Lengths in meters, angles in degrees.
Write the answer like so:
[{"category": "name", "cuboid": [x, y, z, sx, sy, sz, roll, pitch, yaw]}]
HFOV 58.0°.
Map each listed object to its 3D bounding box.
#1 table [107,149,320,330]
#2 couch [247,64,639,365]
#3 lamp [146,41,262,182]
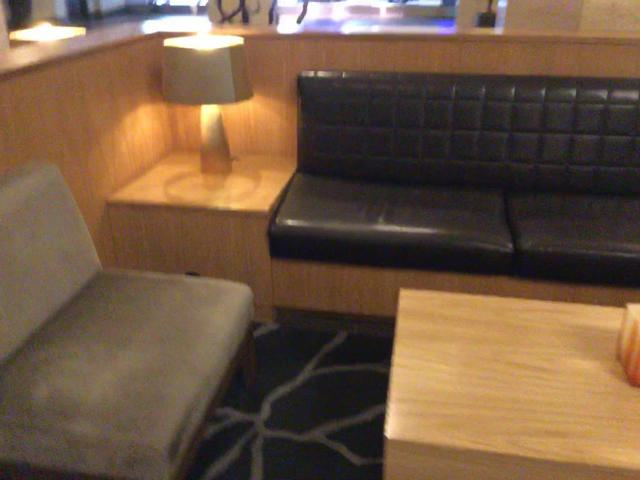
[{"category": "table", "cuboid": [-0.410, -0.040, 2.550, 0.700, 0.560, 0.640, 3, 23, 10]}, {"category": "couch", "cuboid": [0.740, -0.150, 2.260, 1.870, 0.970, 0.650, 3, 23, 10]}, {"category": "lamp", "cuboid": [-0.460, -0.540, 2.390, 0.340, 0.520, 0.290, 3, 23, 10]}]
